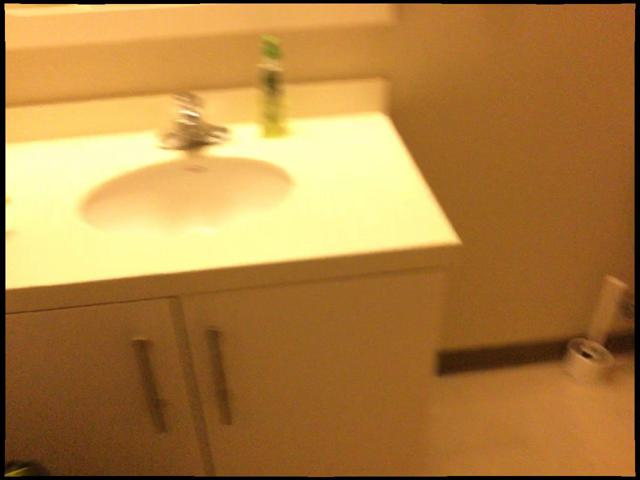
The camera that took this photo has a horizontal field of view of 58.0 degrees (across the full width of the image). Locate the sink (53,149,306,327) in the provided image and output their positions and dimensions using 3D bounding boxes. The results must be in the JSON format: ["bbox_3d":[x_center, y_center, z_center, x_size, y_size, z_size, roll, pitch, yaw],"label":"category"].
[{"bbox_3d":[-0.230,-0.020,1.060,0.379,0.150,0.320,-4,34,-4],"label":"sink"}]

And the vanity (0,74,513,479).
[{"bbox_3d":[-0.220,0.240,1.240,0.888,0.961,0.640,-4,34,-4],"label":"vanity"}]
